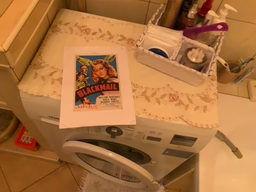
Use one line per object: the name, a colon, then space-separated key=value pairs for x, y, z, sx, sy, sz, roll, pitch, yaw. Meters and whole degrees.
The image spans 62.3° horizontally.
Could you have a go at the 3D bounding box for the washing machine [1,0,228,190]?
washing machine: x=-0.040 y=0.090 z=1.060 sx=0.620 sy=0.850 sz=0.500 roll=12 pitch=59 yaw=-1
